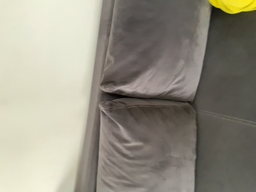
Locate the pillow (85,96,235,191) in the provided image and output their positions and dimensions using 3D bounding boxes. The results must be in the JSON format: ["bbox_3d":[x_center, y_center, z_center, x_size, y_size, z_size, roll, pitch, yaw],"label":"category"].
[{"bbox_3d":[0.100,0.370,0.970,0.230,0.530,0.620,-144,66,-78],"label":"pillow"}]
